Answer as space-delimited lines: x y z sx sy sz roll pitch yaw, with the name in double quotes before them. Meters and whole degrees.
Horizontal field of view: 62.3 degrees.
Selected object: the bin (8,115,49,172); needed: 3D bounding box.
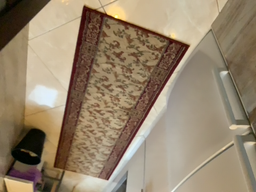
"bin" -0.990 0.470 2.130 0.200 0.440 0.290 18 133 -10
